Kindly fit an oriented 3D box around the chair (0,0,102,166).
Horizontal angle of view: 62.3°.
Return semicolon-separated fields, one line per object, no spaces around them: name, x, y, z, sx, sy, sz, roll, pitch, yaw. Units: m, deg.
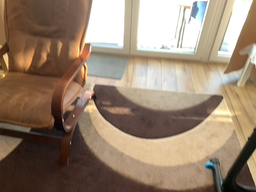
chair;-0.640;-0.250;1.490;0.690;0.990;0.950;6;40;4
